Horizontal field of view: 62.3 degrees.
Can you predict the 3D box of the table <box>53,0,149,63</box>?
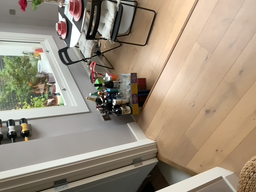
[{"bbox_3d":[-0.410,-1.170,2.760,1.070,0.750,1.050,53,135,40],"label":"table"}]
